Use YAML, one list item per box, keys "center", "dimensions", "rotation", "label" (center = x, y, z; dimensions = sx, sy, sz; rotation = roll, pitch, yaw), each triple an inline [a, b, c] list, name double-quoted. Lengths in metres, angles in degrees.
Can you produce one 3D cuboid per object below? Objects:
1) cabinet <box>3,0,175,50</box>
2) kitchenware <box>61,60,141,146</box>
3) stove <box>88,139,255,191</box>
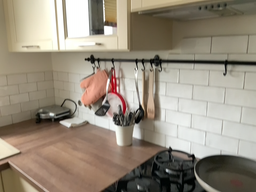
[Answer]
- center: [-0.320, -0.740, 1.220]
  dimensions: [1.140, 0.930, 0.360]
  rotation: [10, 16, 39]
  label: "cabinet"
- center: [-0.200, 0.010, 1.440]
  dimensions: [0.590, 0.480, 0.160]
  rotation: [10, 15, 38]
  label: "kitchenware"
- center: [0.260, 0.350, 0.820]
  dimensions: [0.580, 0.040, 0.580]
  rotation: [10, 16, 39]
  label: "stove"
